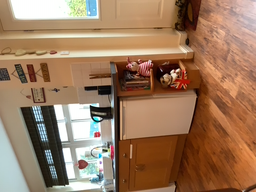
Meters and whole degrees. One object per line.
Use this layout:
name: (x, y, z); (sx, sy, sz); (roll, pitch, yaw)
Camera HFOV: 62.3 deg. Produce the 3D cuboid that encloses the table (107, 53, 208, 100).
table: (0.270, -0.210, 2.180); (0.340, 0.930, 0.300); (-105, 14, -54)
